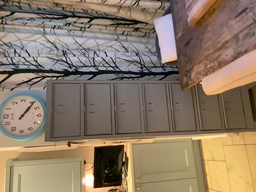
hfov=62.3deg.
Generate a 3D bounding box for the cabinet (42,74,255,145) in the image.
[{"bbox_3d":[0.230,0.100,1.610,0.330,1.600,0.420,131,136,-70],"label":"cabinet"}]

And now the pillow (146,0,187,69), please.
[{"bbox_3d":[0.260,-0.430,1.500,0.210,0.120,0.420,-30,61,54],"label":"pillow"}]

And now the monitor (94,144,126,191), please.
[{"bbox_3d":[-0.210,0.840,2.440,0.040,0.340,0.590,-134,45,-71],"label":"monitor"}]
